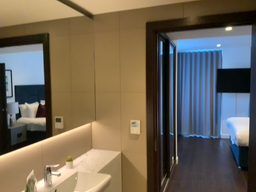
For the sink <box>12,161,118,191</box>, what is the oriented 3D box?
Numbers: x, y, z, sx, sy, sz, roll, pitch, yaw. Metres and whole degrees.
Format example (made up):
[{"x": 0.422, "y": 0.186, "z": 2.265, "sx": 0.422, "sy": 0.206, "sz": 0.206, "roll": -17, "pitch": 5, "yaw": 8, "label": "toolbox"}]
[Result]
[{"x": -0.420, "y": 0.660, "z": 1.440, "sx": 0.490, "sy": 0.150, "sz": 0.670, "roll": 1, "pitch": 4, "yaw": 20, "label": "sink"}]
